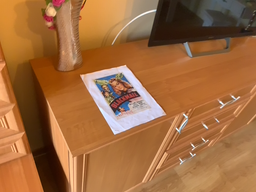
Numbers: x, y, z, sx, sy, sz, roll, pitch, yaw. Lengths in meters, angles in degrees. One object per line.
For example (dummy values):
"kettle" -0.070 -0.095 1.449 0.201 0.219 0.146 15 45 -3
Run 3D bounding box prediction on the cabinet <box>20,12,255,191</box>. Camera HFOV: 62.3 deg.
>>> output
"cabinet" 0.360 0.040 1.430 1.750 0.860 0.560 -17 53 -28
